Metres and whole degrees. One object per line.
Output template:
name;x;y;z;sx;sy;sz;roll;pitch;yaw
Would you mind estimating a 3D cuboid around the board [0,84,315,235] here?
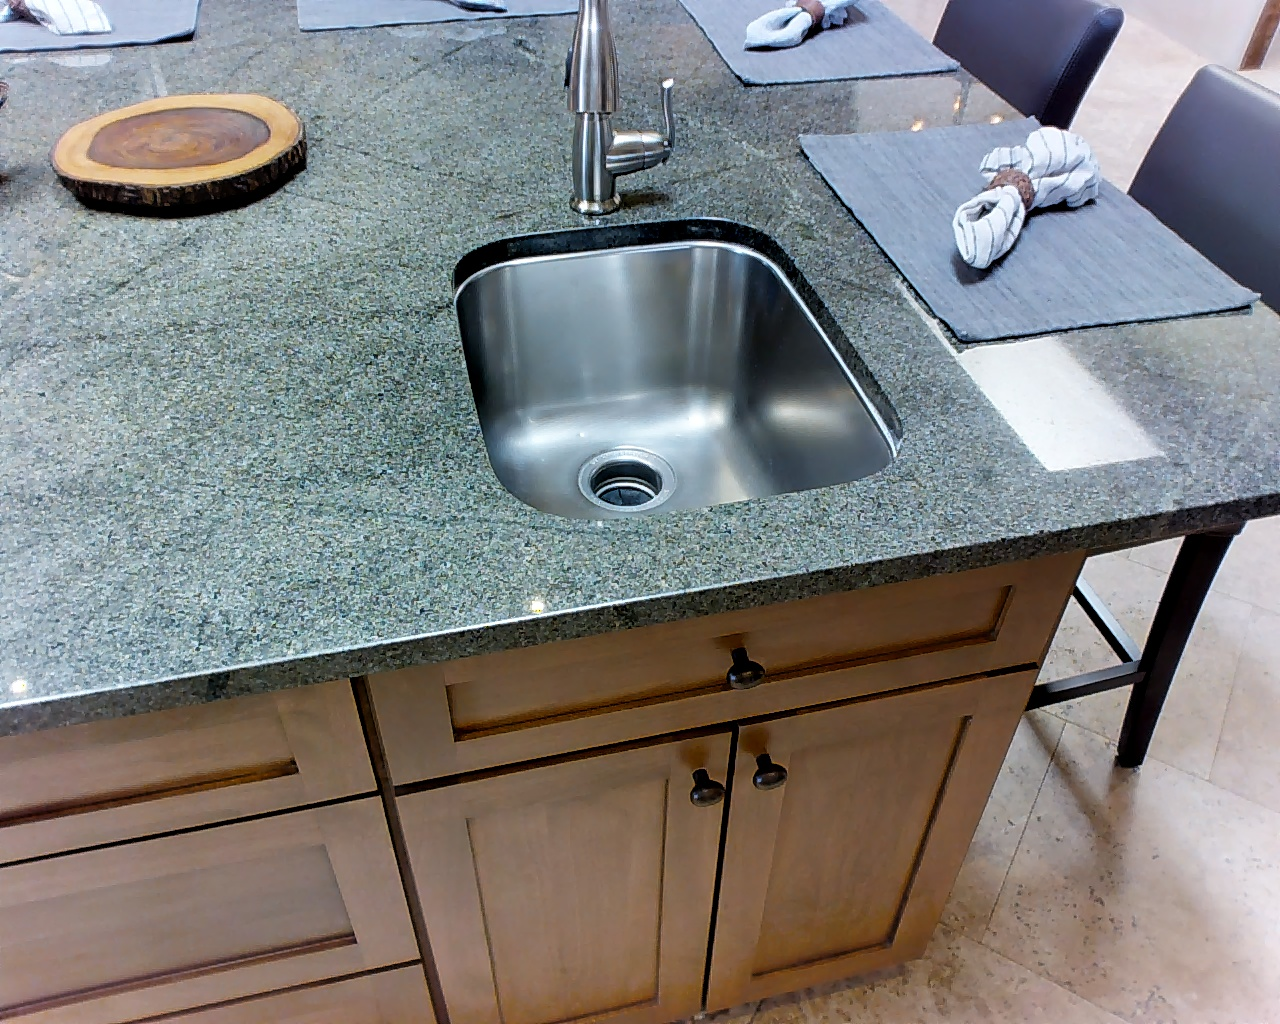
board;-0.560;-0.430;1.280;0.310;0.040;0.300;-6;42;-8
